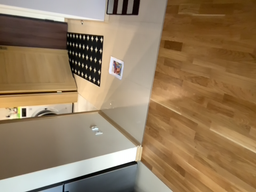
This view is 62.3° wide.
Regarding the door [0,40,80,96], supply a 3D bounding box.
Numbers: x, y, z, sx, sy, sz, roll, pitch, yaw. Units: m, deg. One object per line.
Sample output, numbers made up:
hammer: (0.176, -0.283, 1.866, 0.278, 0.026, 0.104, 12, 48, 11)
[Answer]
door: (-1.830, -0.430, 3.090, 0.100, 2.120, 0.910, -44, 58, 47)
